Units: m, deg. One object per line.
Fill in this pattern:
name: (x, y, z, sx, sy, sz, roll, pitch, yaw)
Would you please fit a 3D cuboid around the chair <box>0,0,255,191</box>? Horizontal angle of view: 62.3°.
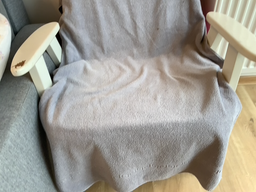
chair: (0.050, -0.080, 0.800, 0.570, 0.740, 0.600, -3, 44, 0)
